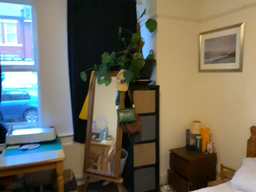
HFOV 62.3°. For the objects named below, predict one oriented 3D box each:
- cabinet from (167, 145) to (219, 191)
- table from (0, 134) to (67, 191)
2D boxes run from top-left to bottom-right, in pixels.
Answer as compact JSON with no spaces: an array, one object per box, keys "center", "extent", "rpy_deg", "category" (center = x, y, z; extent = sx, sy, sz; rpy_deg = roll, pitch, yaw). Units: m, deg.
[{"center":[0.890,1.040,2.960],"extent":[0.530,0.530,0.410],"rpy_deg":[-2,7,-22],"category":"cabinet"},{"center":[-1.310,0.960,2.350],"extent":[1.140,0.760,0.760],"rpy_deg":[-2,7,-22],"category":"table"}]
